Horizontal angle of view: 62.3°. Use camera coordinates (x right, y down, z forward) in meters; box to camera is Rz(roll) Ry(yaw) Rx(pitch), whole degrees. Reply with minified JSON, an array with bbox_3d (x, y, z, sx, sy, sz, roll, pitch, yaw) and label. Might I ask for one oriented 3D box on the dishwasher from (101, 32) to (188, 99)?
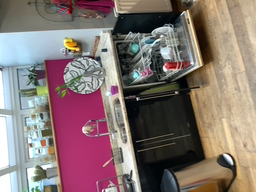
[{"bbox_3d":[0.170,-0.380,2.810,0.700,0.870,0.600,138,123,-70],"label":"dishwasher"}]
